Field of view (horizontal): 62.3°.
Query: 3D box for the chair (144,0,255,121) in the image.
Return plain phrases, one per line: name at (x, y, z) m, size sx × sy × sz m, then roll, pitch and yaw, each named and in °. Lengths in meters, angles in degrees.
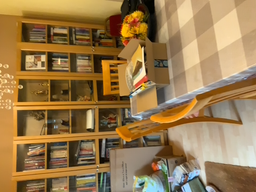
chair at (0.650, -0.190, 1.200) m, size 0.390 × 1.000 × 0.580 m, roll 146°, pitch 122°, yaw -68°
